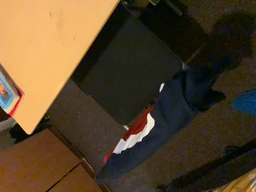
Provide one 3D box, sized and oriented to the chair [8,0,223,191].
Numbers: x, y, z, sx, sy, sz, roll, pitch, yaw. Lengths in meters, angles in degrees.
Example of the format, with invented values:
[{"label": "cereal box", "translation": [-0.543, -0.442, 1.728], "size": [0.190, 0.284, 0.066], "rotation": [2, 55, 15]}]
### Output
[{"label": "chair", "translation": [0.030, -0.070, 0.930], "size": [0.490, 0.720, 0.480], "rotation": [46, 119, 6]}]
